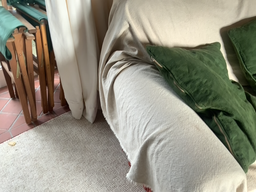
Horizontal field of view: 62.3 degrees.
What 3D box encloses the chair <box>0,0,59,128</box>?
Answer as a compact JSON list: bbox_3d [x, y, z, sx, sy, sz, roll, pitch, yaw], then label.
[{"bbox_3d":[-0.780,-0.330,1.410,0.240,0.910,0.600,-25,47,-29],"label":"chair"}]
